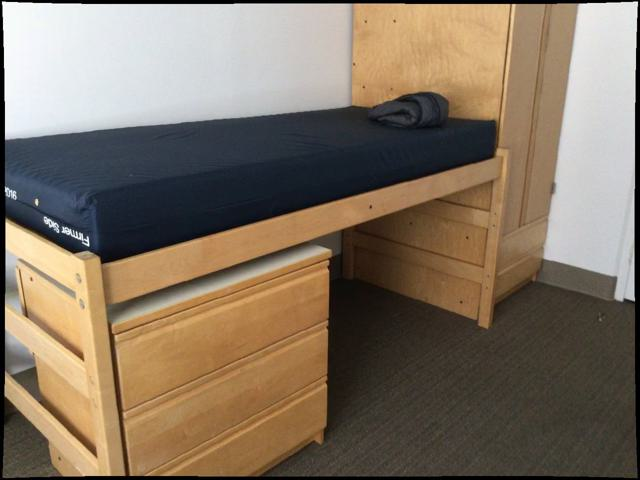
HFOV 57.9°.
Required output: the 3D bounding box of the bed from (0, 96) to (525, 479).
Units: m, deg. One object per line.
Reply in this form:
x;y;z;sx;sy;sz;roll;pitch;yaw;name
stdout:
-0.170;0.050;2.400;1.029;1.061;2.139;17;25;40;bed
